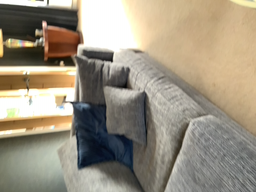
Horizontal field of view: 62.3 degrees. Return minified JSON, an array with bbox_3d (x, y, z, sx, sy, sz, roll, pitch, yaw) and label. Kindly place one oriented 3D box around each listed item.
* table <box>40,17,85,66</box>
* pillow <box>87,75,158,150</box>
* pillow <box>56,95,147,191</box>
[{"bbox_3d":[-1.220,-0.990,3.880,0.650,0.630,0.620,-3,-52,-27],"label":"table"},{"bbox_3d":[-0.050,0.110,1.460,0.120,0.360,0.370,22,-78,-55],"label":"pillow"},{"bbox_3d":[-0.230,0.350,1.630,0.160,0.590,0.530,2,-69,-60],"label":"pillow"}]
